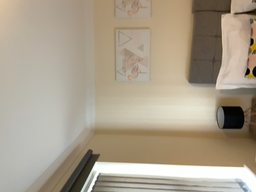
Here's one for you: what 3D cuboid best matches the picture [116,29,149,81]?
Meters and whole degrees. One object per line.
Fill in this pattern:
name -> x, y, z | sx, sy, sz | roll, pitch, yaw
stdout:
picture -> 0.050, -0.470, 2.470 | 0.040, 0.370, 0.590 | -66, -24, -80

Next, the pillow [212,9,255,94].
pillow -> 1.220, -0.450, 2.230 | 0.230, 0.540, 0.830 | -12, -74, -65
